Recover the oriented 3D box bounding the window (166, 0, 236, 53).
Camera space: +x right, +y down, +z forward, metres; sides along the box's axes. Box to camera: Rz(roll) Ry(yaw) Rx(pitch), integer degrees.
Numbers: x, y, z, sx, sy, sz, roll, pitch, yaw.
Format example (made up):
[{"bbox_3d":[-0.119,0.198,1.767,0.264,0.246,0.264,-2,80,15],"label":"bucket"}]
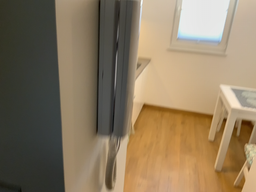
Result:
[{"bbox_3d":[1.030,-1.220,2.980,0.810,1.100,0.170,8,22,8],"label":"window"}]
